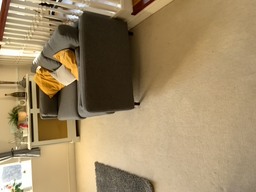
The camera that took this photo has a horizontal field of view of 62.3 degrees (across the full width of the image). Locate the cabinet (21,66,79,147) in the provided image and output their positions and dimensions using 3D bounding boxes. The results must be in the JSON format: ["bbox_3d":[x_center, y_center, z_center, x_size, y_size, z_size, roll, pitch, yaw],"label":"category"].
[{"bbox_3d":[-1.340,0.160,3.680,0.220,0.840,1.280,-12,81,54],"label":"cabinet"}]

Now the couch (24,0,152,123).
[{"bbox_3d":[-0.690,-0.200,2.730,1.910,0.830,0.970,-13,81,54],"label":"couch"}]
